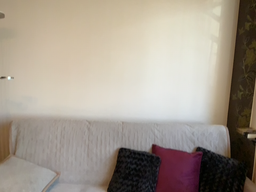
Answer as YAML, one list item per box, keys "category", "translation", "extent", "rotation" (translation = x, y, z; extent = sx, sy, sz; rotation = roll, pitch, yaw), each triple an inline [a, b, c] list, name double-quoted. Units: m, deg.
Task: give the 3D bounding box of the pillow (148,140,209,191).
- category: "pillow"
  translation: [0.400, 0.620, 1.750]
  extent: [0.360, 0.380, 0.170]
  rotation: [17, 9, -2]

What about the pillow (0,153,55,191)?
- category: "pillow"
  translation: [-0.840, 0.670, 1.590]
  extent: [0.370, 0.230, 0.590]
  rotation: [3, 8, 2]

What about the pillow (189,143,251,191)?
- category: "pillow"
  translation: [0.750, 0.650, 1.790]
  extent: [0.340, 0.370, 0.280]
  rotation: [9, 9, 2]

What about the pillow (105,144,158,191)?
- category: "pillow"
  translation: [0.030, 0.630, 1.750]
  extent: [0.350, 0.340, 0.160]
  rotation: [14, 9, 2]

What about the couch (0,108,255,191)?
- category: "couch"
  translation: [-0.050, 0.720, 1.790]
  extent: [2.120, 0.940, 1.050]
  rotation: [3, 8, 0]
